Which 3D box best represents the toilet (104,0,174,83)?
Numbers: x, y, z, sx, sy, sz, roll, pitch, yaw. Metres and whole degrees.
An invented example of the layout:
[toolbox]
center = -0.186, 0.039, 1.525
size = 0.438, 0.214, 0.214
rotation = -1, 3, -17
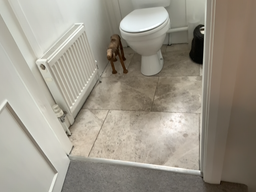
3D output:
[toilet]
center = 0.140, -0.610, 1.670
size = 0.360, 0.780, 0.650
rotation = 2, 41, 17
